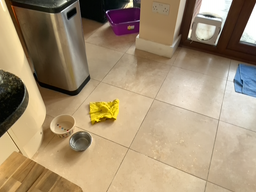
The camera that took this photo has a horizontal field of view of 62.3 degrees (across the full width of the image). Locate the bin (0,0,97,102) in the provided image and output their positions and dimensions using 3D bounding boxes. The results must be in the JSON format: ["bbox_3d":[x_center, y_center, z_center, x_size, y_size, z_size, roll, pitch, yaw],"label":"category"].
[{"bbox_3d":[-0.480,-0.350,1.450,0.380,0.680,0.310,19,48,16],"label":"bin"}]
